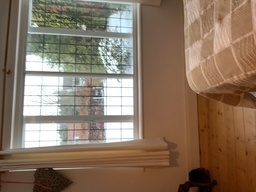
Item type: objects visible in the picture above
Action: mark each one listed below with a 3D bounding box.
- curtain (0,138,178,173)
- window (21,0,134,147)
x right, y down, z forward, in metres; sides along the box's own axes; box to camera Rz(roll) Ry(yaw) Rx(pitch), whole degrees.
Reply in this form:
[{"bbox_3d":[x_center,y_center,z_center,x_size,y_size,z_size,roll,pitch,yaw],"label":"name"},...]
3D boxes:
[{"bbox_3d":[-0.410,0.640,2.360,0.140,2.000,0.260,142,127,-76],"label":"curtain"},{"bbox_3d":[-0.610,-0.390,2.730,0.100,1.350,1.970,155,114,-77],"label":"window"}]
